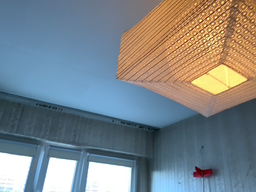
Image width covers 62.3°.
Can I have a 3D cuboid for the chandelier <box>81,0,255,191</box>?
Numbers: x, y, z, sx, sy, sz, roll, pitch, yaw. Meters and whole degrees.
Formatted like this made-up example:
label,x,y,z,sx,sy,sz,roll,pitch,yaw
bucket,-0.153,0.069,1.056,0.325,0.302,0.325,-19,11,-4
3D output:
label,x,y,z,sx,sy,sz,roll,pitch,yaw
chandelier,0.340,-0.240,0.940,0.620,0.690,1.130,23,59,-26
